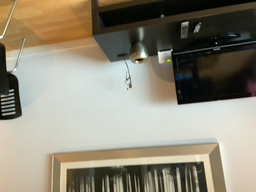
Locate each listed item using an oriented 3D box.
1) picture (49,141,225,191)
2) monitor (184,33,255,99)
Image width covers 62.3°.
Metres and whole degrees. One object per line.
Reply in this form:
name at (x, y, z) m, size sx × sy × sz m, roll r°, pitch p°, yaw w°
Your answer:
picture at (0.030, 0.860, 1.900) m, size 1.580 × 0.800 × 0.050 m, roll -6°, pitch 166°, yaw 10°
monitor at (0.850, -0.260, 1.850) m, size 0.640 × 0.510 × 0.060 m, roll -6°, pitch 166°, yaw 10°
